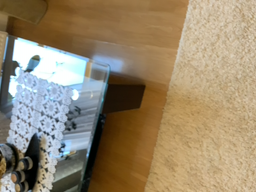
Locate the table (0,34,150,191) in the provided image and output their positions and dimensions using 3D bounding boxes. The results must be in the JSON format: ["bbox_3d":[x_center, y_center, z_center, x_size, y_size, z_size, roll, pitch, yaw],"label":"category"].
[{"bbox_3d":[-0.460,0.310,1.340,0.760,0.500,1.160,21,101,26],"label":"table"}]
